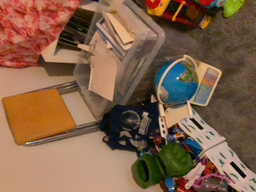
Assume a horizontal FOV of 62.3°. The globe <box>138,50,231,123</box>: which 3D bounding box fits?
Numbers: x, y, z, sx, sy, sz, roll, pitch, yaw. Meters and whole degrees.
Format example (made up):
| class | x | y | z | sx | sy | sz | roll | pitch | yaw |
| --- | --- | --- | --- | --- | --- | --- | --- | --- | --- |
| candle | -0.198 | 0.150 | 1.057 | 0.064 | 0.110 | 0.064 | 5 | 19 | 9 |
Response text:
| class | x | y | z | sx | sy | sz | roll | pitch | yaw |
| --- | --- | --- | --- | --- | --- | --- | --- | --- | --- |
| globe | 0.330 | -0.070 | 1.260 | 0.310 | 0.360 | 0.260 | 49 | 128 | 32 |
